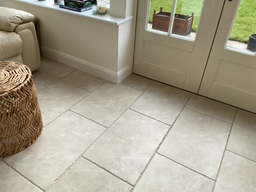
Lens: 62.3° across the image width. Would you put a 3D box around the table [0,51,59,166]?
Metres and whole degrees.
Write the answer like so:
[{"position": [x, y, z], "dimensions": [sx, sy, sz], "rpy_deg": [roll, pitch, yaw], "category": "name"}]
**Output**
[{"position": [-0.830, 0.050, 1.410], "dimensions": [0.470, 0.460, 0.460], "rpy_deg": [24, 41, 26], "category": "table"}]
